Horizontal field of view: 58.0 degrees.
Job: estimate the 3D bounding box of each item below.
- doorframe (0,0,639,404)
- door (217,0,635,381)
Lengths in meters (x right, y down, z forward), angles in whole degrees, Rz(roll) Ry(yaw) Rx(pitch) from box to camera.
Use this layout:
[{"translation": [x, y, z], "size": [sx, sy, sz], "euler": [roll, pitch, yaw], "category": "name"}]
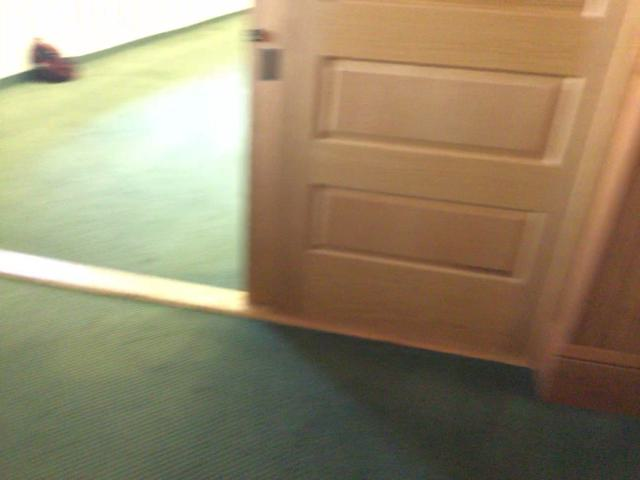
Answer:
[{"translation": [-0.520, -0.290, 1.970], "size": [2.800, 1.220, 0.280], "euler": [9, 27, 11], "category": "doorframe"}, {"translation": [0.240, -0.180, 1.930], "size": [1.130, 1.220, 0.200], "euler": [9, 27, 11], "category": "door"}]
